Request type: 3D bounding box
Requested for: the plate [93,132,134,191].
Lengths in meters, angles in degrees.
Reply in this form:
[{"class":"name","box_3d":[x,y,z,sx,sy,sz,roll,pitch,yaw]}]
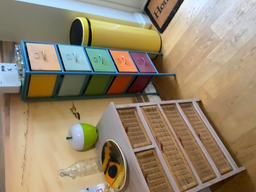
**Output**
[{"class":"plate","box_3d":[-0.100,0.410,1.260,0.260,0.050,0.290,-54,49,42]}]
